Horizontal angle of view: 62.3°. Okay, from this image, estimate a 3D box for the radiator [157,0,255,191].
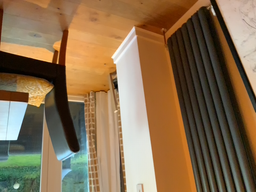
[{"bbox_3d":[0.540,0.260,1.300,0.130,1.970,0.540,6,156,-29],"label":"radiator"}]

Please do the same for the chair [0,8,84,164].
[{"bbox_3d":[-0.770,-0.040,1.660,0.680,1.030,0.480,7,155,-32],"label":"chair"}]
